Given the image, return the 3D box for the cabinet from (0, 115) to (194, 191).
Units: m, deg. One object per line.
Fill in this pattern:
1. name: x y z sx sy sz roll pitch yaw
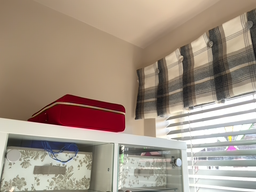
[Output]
1. cabinet: -0.150 0.370 0.840 0.790 0.420 0.400 14 -23 -35
